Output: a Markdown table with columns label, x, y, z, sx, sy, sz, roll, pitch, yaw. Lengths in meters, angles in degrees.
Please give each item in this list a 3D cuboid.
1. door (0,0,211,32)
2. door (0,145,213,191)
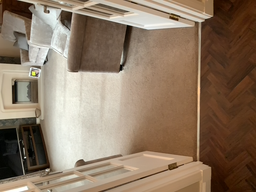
| label | x | y | z | sx | sy | sz | roll | pitch | yaw |
| --- | --- | --- | --- | --- | --- | --- | --- | --- | --- |
| door | -0.370 | -0.650 | 1.410 | 0.840 | 1.920 | 0.080 | 17 | 104 | 51 |
| door | -0.360 | 0.600 | 1.360 | 0.730 | 2.050 | 0.090 | 4 | 94 | 53 |
